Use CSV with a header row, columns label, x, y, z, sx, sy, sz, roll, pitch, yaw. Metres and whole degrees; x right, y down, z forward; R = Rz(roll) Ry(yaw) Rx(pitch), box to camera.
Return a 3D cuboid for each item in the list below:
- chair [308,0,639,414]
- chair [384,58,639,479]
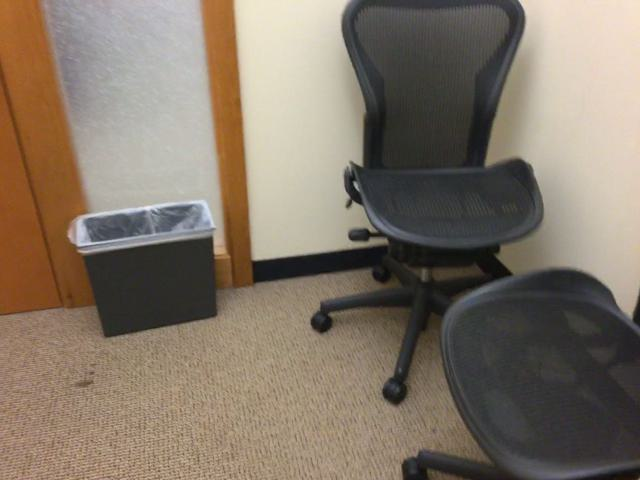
label,x,y,z,sx,sy,sz,roll,pitch,yaw
chair,0.390,-0.170,1.760,0.710,1.060,0.700,-6,29,-12
chair,0.580,0.260,1.070,0.700,1.030,0.650,-4,29,-9
